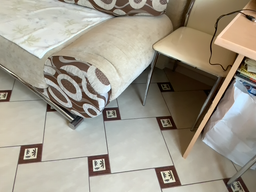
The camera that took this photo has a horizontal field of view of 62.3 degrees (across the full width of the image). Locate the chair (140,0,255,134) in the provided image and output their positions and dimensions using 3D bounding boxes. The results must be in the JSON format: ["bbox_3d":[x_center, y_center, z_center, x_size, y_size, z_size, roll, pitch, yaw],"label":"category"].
[{"bbox_3d":[0.440,-0.340,1.200,0.380,0.960,0.540,28,47,19],"label":"chair"}]

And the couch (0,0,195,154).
[{"bbox_3d":[-0.680,-0.720,1.460,2.000,0.880,0.980,28,47,19],"label":"couch"}]
